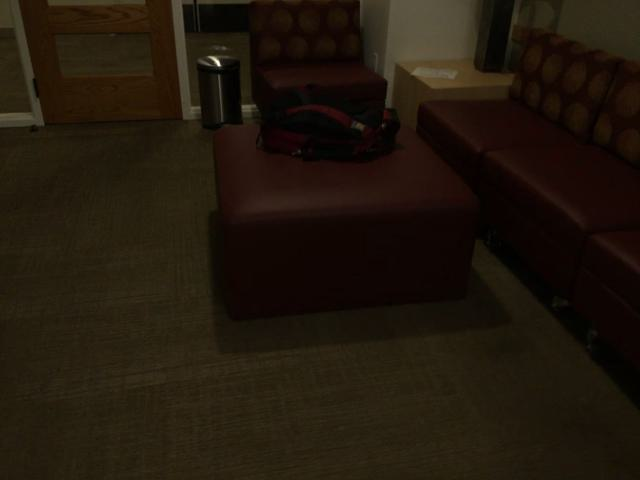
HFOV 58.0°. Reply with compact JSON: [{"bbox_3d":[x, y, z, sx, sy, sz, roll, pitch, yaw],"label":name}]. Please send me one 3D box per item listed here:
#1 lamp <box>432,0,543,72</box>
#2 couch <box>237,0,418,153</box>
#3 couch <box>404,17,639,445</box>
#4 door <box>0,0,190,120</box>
[{"bbox_3d":[0.900,-1.300,3.070,0.360,0.700,0.440,-4,29,-13],"label":"lamp"},{"bbox_3d":[-0.010,-1.060,3.500,0.890,0.830,0.720,-4,29,-13],"label":"couch"},{"bbox_3d":[1.120,-0.220,2.180,0.810,0.860,2.120,-4,29,-13],"label":"couch"},{"bbox_3d":[-1.350,-1.400,3.480,1.030,1.260,0.350,-4,29,-13],"label":"door"}]
